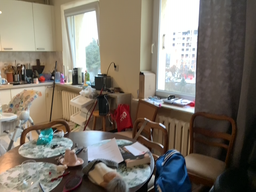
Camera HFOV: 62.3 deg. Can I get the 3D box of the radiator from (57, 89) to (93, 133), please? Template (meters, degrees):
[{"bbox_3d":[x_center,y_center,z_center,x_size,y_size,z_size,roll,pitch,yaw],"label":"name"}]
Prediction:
[{"bbox_3d":[-1.040,0.260,4.090,0.910,0.660,0.190,13,16,43],"label":"radiator"}]
